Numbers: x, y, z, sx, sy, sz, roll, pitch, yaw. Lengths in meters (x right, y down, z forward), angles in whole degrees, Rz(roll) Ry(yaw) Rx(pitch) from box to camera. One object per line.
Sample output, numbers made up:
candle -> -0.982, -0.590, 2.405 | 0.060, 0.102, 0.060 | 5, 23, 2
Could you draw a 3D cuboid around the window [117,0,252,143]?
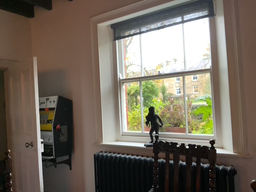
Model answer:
window -> 0.530, -0.210, 2.360 | 1.390, 1.350, 0.160 | -4, -1, 32
